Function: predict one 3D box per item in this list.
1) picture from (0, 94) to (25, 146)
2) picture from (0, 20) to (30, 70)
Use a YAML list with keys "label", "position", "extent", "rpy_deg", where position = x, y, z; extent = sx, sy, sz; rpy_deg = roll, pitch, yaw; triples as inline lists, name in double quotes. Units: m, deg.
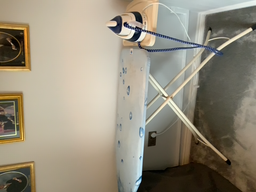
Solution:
- label: "picture"
  position: [-0.890, 0.170, 1.460]
  extent: [0.030, 0.310, 0.370]
  rpy_deg: [-148, 59, -62]
- label: "picture"
  position: [-0.840, -0.330, 1.370]
  extent: [0.020, 0.360, 0.310]
  rpy_deg: [-150, 61, -63]
